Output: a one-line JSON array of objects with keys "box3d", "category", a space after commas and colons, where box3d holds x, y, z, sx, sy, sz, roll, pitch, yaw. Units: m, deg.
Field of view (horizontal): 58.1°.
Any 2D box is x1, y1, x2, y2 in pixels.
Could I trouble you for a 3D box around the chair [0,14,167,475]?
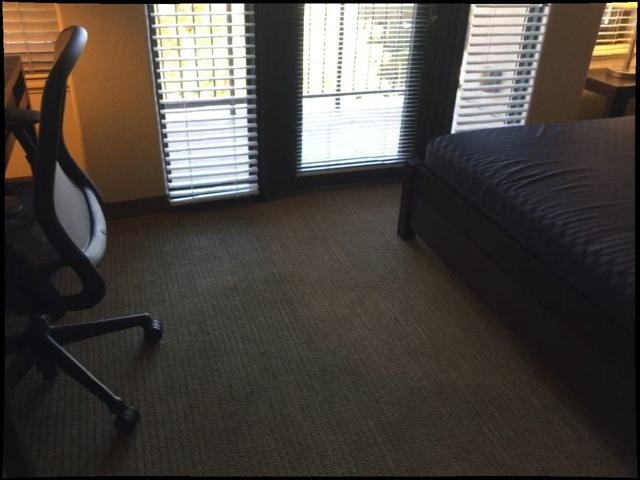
[{"box3d": [-0.758, 0.000, 1.550, 0.499, 1.042, 0.590, -9, 32, -18], "category": "chair"}]
